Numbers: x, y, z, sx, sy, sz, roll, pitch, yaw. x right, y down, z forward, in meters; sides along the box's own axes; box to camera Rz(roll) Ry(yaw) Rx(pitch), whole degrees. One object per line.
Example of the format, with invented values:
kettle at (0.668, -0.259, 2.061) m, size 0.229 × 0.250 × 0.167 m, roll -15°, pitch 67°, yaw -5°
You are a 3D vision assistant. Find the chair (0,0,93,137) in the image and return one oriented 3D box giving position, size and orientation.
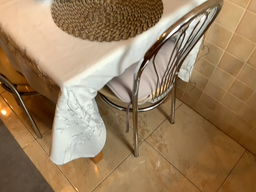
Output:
chair at (-0.490, -0.220, 1.060) m, size 0.380 × 0.830 × 0.390 m, roll -38°, pitch 64°, yaw -24°
